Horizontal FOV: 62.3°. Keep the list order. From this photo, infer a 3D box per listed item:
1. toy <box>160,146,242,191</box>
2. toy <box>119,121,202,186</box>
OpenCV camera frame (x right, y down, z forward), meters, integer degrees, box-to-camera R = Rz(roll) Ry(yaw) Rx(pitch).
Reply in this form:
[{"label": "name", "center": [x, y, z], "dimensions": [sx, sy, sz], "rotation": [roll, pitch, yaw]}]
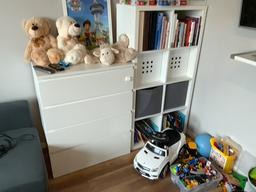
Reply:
[{"label": "toy", "center": [0.620, 0.740, 1.880], "dimensions": [0.500, 0.280, 0.420], "rotation": [-8, 27, -19]}, {"label": "toy", "center": [0.310, 0.560, 2.200], "dimensions": [0.710, 0.310, 0.440], "rotation": [-8, 27, -19]}]
